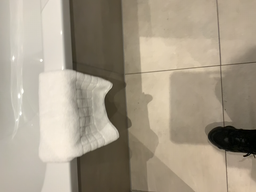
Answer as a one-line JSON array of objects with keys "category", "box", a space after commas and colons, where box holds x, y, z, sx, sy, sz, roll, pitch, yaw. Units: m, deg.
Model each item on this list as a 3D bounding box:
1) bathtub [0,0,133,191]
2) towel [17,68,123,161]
[{"category": "bathtub", "box": [-0.420, -0.280, 0.970, 0.690, 0.540, 1.570, -3, 90, 18]}, {"category": "towel", "box": [-0.180, 0.050, 0.740, 0.240, 0.280, 0.250, 0, 91, 18]}]
